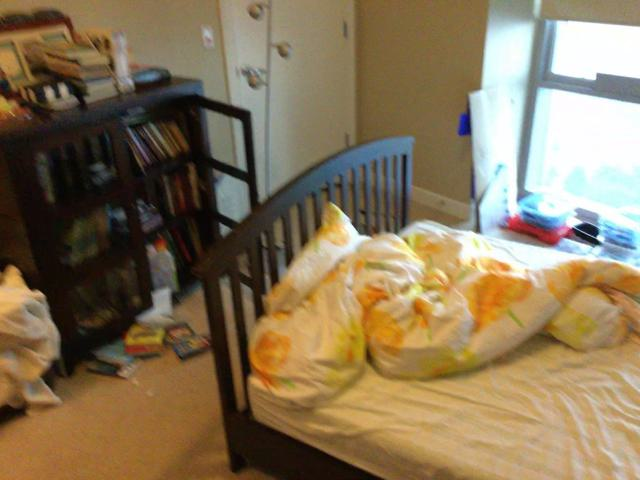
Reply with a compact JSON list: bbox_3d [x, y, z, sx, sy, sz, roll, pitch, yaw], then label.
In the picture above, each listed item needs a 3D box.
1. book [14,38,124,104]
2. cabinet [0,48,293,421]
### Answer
[{"bbox_3d":[-0.980,-0.670,2.270,0.280,0.190,0.240,14,32,29],"label":"book"},{"bbox_3d":[-0.790,-0.130,2.430,0.850,1.100,1.020,14,32,29],"label":"cabinet"}]
